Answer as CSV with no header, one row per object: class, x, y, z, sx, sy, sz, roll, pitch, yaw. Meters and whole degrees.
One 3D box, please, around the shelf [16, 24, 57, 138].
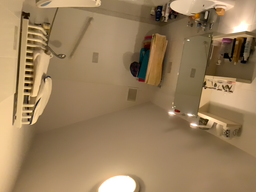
shelf,-0.810,-0.160,1.960,0.200,0.820,0.850,6,-172,-19
